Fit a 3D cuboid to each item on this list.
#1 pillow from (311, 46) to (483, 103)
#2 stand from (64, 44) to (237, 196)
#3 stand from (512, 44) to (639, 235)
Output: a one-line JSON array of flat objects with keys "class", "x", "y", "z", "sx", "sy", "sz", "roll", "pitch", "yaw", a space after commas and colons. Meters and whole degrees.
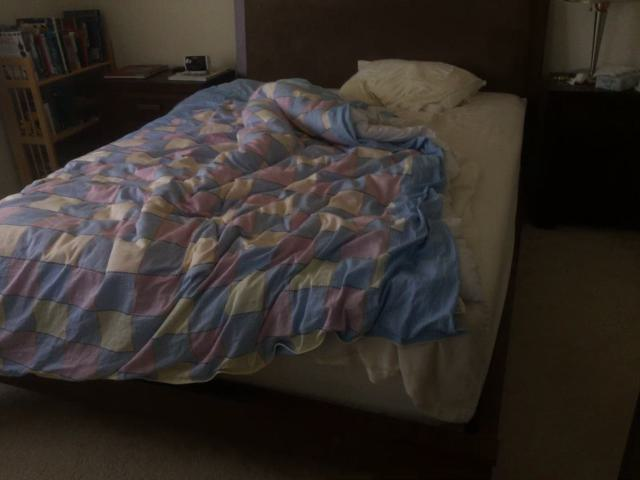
[{"class": "pillow", "x": 0.350, "y": -0.770, "z": 2.640, "sx": 0.680, "sy": 0.140, "sz": 0.370, "roll": 13, "pitch": 30, "yaw": 26}, {"class": "stand", "x": -0.930, "y": -0.700, "z": 3.290, "sx": 0.720, "sy": 0.710, "sz": 0.450, "roll": 8, "pitch": 28, "yaw": 18}, {"class": "stand", "x": 1.310, "y": -0.450, "z": 2.570, "sx": 0.770, "sy": 0.730, "sz": 0.390, "roll": 8, "pitch": 28, "yaw": 18}]
